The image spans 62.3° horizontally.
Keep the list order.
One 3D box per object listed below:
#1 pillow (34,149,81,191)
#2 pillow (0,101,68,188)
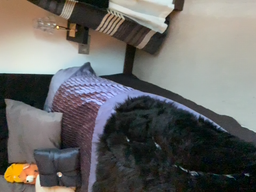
[{"bbox_3d":[-0.440,0.480,1.310,0.060,0.270,0.250,-40,-43,-76],"label":"pillow"},{"bbox_3d":[-0.630,0.300,1.360,0.120,0.410,0.430,-34,-43,-73],"label":"pillow"}]
